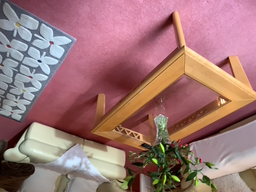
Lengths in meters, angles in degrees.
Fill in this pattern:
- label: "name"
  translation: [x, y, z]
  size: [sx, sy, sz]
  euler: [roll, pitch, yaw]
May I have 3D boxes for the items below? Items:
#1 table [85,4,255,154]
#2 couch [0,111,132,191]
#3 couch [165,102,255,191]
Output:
- label: "table"
  translation: [0.290, 0.000, 1.840]
  size: [0.810, 0.440, 1.170]
  euler: [25, 136, -27]
- label: "couch"
  translation: [-0.910, 1.110, 2.860]
  size: [1.610, 0.950, 1.050]
  euler: [25, 135, -28]
- label: "couch"
  translation: [1.620, 0.780, 2.370]
  size: [1.040, 0.990, 2.240]
  euler: [25, 136, -27]
